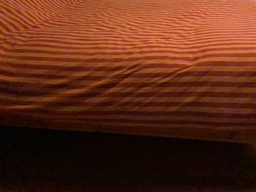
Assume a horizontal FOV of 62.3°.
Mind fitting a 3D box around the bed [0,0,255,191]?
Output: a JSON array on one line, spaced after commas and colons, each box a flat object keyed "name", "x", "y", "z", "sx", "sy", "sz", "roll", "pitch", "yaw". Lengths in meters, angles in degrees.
[{"name": "bed", "x": -0.090, "y": -0.340, "z": 1.610, "sx": 2.180, "sy": 0.680, "sz": 1.700, "roll": 3, "pitch": 32, "yaw": 8}]
